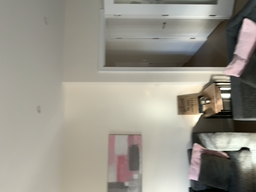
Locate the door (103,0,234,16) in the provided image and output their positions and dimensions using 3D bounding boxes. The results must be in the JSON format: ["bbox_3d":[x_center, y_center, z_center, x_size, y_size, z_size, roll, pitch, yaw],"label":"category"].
[{"bbox_3d":[0.610,-1.620,3.120,0.050,1.960,0.810,-95,5,-70],"label":"door"}]
